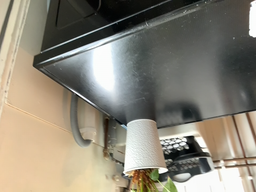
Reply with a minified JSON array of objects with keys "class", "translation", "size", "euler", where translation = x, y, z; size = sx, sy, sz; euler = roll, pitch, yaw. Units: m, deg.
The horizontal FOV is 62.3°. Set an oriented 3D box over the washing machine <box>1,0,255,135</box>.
[{"class":"washing machine","translation":[0.140,-0.390,0.830],"size":[0.770,0.850,0.590],"euler":[-12,153,17]}]
